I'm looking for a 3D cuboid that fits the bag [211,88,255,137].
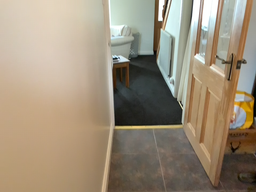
[{"bbox_3d":[1.030,0.150,2.030,0.350,0.360,0.250,4,24,8],"label":"bag"}]
